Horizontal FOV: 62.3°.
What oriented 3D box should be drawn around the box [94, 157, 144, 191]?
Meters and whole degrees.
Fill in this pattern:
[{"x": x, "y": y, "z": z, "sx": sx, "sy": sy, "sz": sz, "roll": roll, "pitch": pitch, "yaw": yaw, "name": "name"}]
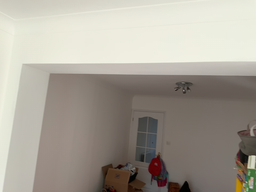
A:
[{"x": -0.160, "y": 1.730, "z": 4.090, "sx": 0.750, "sy": 0.880, "sz": 0.640, "roll": 4, "pitch": -7, "yaw": 16, "name": "box"}]
